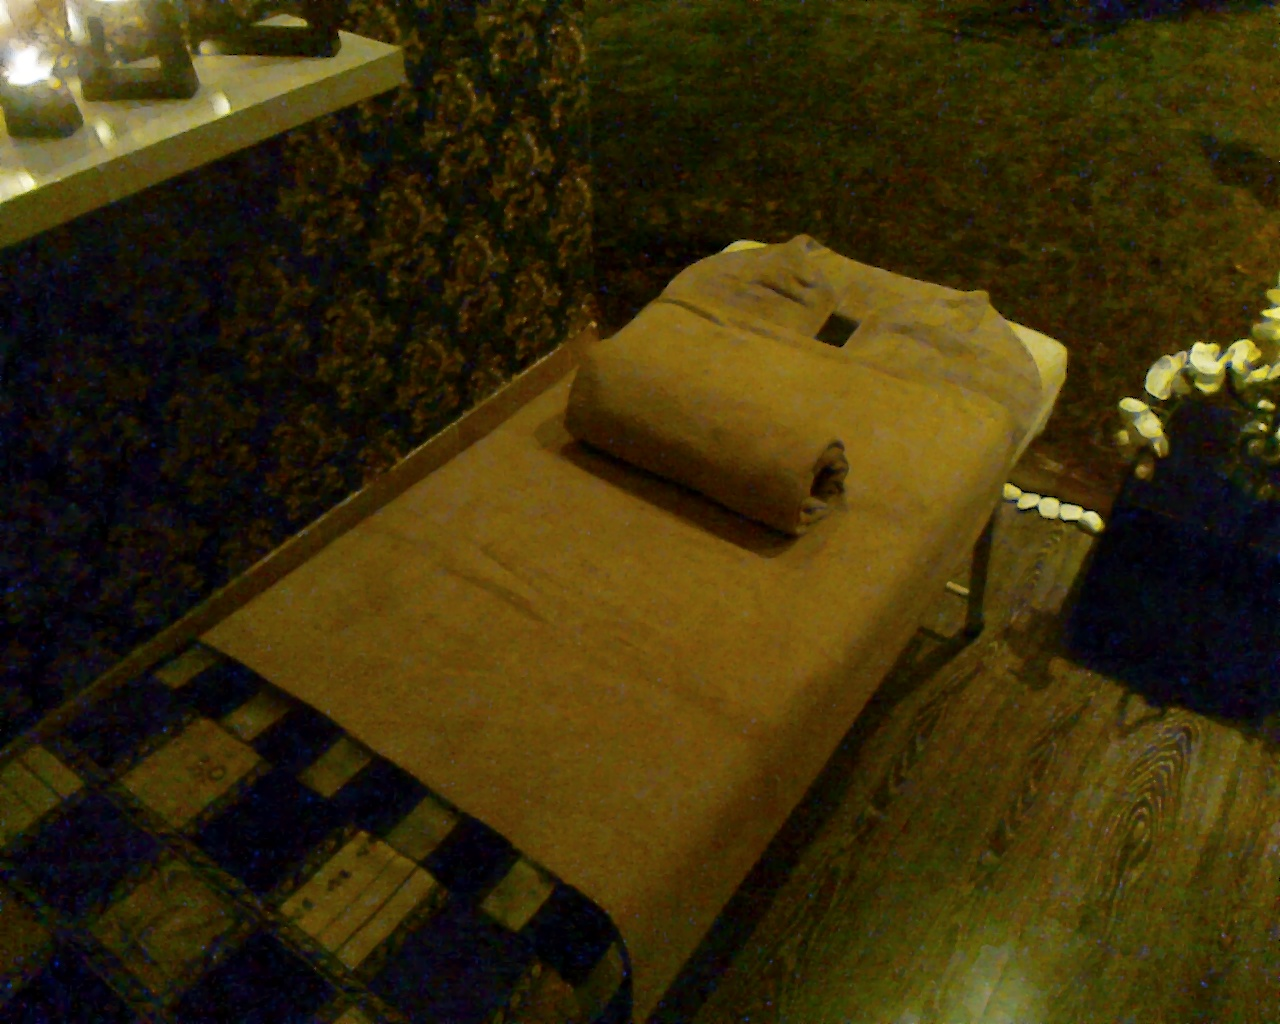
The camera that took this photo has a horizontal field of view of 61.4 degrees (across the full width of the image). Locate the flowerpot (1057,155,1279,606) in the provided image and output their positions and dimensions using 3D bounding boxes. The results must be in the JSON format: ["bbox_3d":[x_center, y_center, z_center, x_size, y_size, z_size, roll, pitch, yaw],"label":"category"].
[{"bbox_3d":[1.090,-0.210,1.780,0.510,0.470,0.530,25,48,25],"label":"flowerpot"}]
